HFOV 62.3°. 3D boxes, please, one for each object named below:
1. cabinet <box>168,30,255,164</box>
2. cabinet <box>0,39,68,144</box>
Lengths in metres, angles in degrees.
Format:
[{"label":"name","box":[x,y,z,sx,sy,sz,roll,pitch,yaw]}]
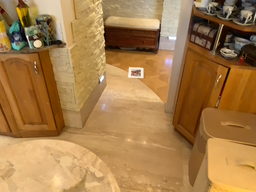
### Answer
[{"label":"cabinet","box":[0.650,0.010,1.730,0.520,0.880,0.550,7,36,8]},{"label":"cabinet","box":[-0.810,-0.010,1.760,0.410,0.830,0.260,7,36,8]}]
